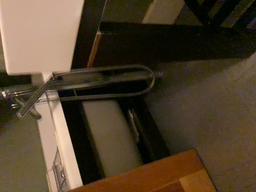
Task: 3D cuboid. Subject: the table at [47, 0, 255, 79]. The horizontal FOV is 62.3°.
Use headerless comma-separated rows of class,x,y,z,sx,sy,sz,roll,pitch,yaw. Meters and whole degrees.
table,0.180,-0.410,0.590,0.420,0.710,0.530,66,148,25
